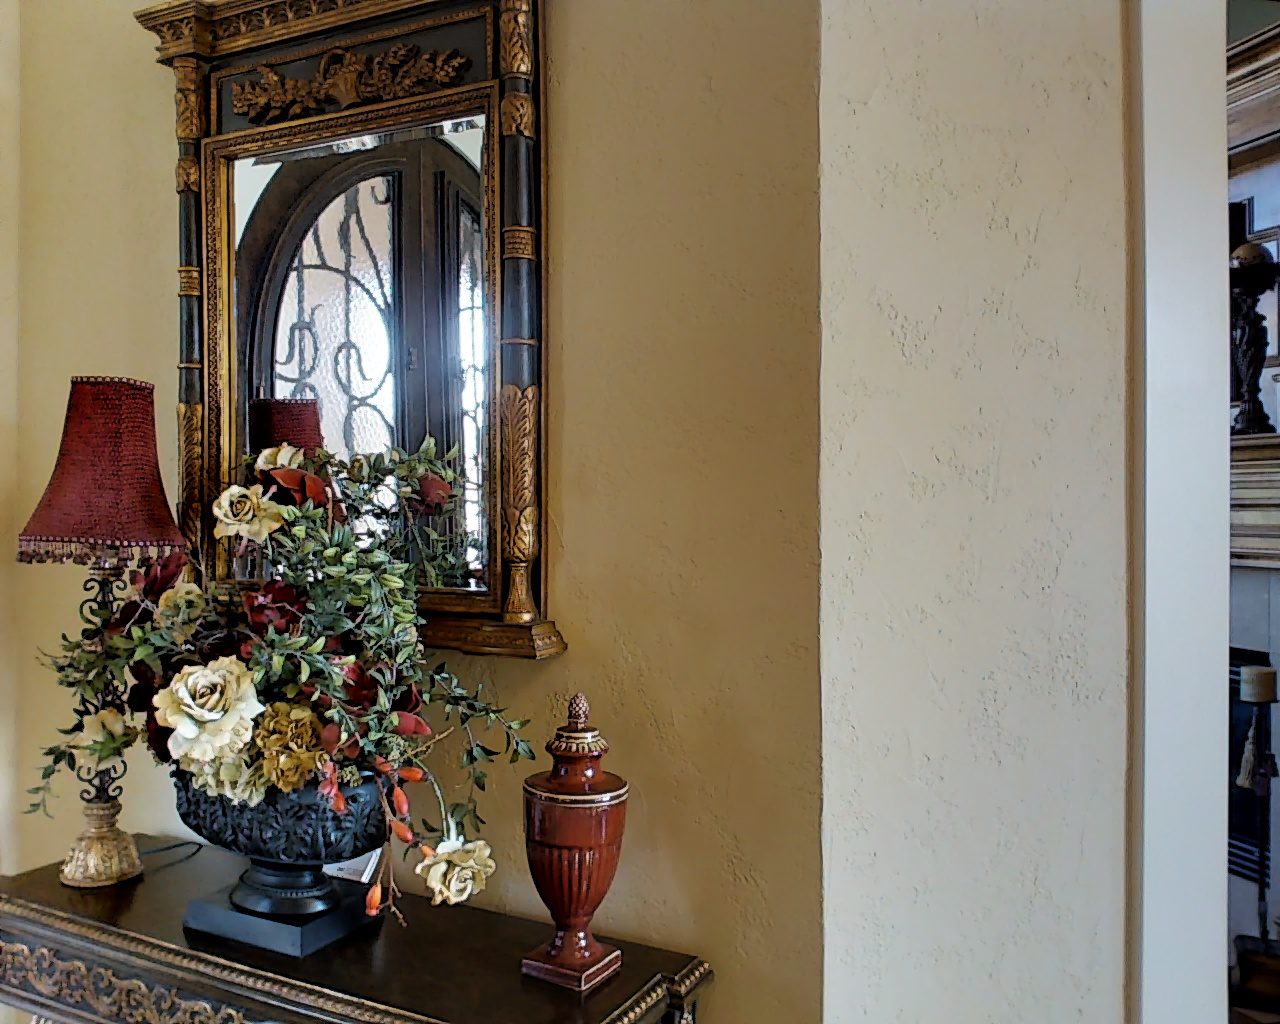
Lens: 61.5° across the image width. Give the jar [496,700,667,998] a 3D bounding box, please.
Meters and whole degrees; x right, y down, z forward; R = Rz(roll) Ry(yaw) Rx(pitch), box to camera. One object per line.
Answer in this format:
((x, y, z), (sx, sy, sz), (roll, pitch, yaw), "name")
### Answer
((-0.080, 0.460, 1.520), (0.180, 0.350, 0.170), (0, -1, 25), "jar")
